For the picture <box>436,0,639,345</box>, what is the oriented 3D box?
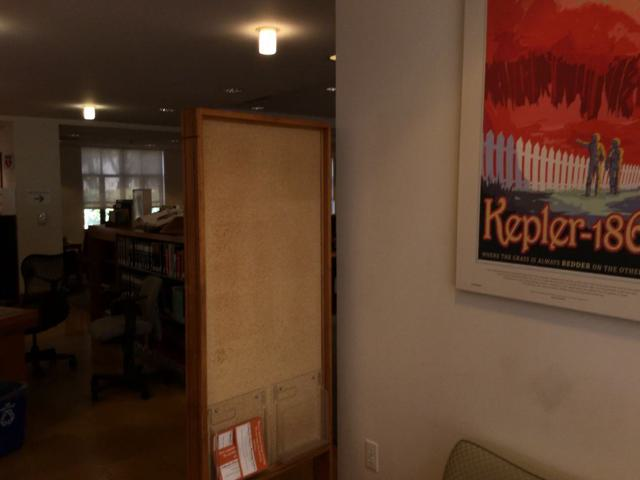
[{"bbox_3d":[0.680,-0.290,1.650,0.060,1.070,0.830,-2,5,-36],"label":"picture"}]
